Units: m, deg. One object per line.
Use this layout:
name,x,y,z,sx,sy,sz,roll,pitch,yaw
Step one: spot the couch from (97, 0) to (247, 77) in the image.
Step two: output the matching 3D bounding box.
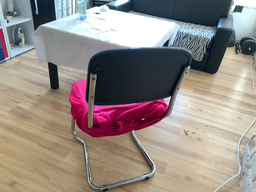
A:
couch,0.540,-1.080,2.850,1.610,0.910,0.940,18,36,14

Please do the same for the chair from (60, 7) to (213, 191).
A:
chair,-0.050,0.030,1.190,0.510,0.860,0.540,-8,38,-22

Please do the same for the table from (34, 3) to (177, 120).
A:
table,-0.150,-0.420,2.050,0.930,0.590,0.950,18,36,14
